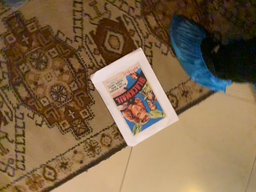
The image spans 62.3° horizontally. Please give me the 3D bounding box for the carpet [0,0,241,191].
[{"bbox_3d":[-0.210,-0.100,0.740,1.030,0.120,0.740,-30,98,-7],"label":"carpet"}]
